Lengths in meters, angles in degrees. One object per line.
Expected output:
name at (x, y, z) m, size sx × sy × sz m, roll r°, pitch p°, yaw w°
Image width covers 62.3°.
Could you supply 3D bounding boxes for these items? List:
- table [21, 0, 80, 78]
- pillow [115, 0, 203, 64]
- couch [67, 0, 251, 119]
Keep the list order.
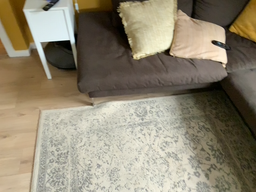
table at (-0.630, -0.590, 1.890) m, size 0.320 × 0.660 × 0.520 m, roll -5°, pitch 49°, yaw -8°
pillow at (0.220, -0.540, 1.680) m, size 0.600 × 0.180 × 0.530 m, roll -2°, pitch 71°, yaw -9°
couch at (0.120, -0.460, 1.770) m, size 1.070 × 0.710 × 0.960 m, roll -5°, pitch 49°, yaw -8°
